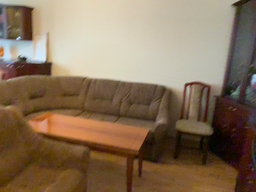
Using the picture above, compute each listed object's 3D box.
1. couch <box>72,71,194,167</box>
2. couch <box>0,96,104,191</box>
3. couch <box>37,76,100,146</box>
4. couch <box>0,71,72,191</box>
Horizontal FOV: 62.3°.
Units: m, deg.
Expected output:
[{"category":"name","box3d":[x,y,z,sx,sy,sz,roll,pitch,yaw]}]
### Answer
[{"category":"couch","box3d":[0.110,0.210,3.110,1.500,0.900,1.010,8,15,17]},{"category":"couch","box3d":[-0.730,0.530,1.730,0.790,0.820,0.740,8,15,17]},{"category":"couch","box3d":[-0.940,0.160,3.260,0.730,0.800,0.840,-4,16,-29]},{"category":"couch","box3d":[-1.400,0.300,2.320,0.850,0.910,1.480,8,15,17]}]
